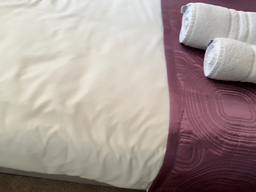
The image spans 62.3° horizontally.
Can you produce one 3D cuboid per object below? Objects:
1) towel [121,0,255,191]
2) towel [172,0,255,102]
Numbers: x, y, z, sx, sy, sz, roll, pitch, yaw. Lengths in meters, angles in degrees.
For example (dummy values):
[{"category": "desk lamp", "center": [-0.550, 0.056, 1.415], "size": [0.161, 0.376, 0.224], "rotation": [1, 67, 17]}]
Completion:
[{"category": "towel", "center": [0.340, -0.270, 1.030], "size": [0.450, 0.520, 1.510], "rotation": [13, 53, -4]}, {"category": "towel", "center": [0.340, -0.120, 0.580], "size": [0.420, 0.100, 0.260], "rotation": [12, 53, -4]}]
